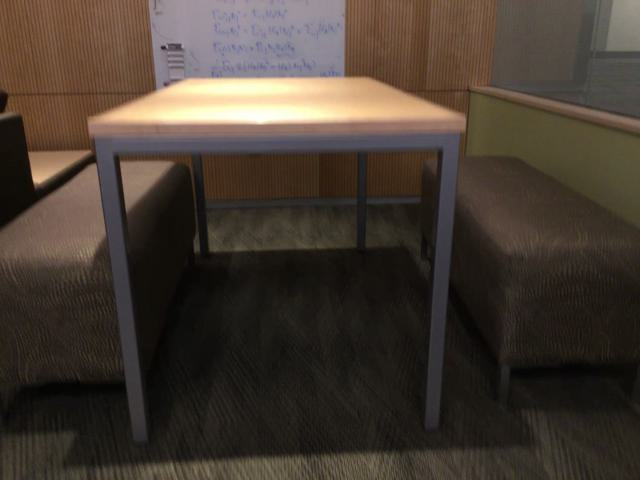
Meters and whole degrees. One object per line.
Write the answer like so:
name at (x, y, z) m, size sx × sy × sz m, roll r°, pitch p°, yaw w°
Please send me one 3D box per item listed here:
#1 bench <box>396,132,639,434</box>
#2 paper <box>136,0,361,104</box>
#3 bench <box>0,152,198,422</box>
bench at (0.630, 0.040, 1.910) m, size 0.470 × 0.550 × 1.060 m, roll 9°, pitch 19°, yaw -6°
paper at (-0.340, -1.360, 2.700) m, size 1.060 × 1.370 × 0.070 m, roll -3°, pitch 19°, yaw -4°
bench at (-0.660, 0.050, 1.810) m, size 0.530 × 0.490 × 1.050 m, roll 1°, pitch 15°, yaw -12°
